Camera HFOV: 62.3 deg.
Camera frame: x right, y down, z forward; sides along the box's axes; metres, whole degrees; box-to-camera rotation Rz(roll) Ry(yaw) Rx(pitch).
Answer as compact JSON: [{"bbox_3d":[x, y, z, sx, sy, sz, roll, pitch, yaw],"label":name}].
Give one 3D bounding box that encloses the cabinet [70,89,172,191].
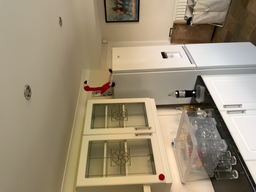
[{"bbox_3d":[-0.080,0.410,2.170,1.090,0.800,0.310,-94,4,-48],"label":"cabinet"}]
